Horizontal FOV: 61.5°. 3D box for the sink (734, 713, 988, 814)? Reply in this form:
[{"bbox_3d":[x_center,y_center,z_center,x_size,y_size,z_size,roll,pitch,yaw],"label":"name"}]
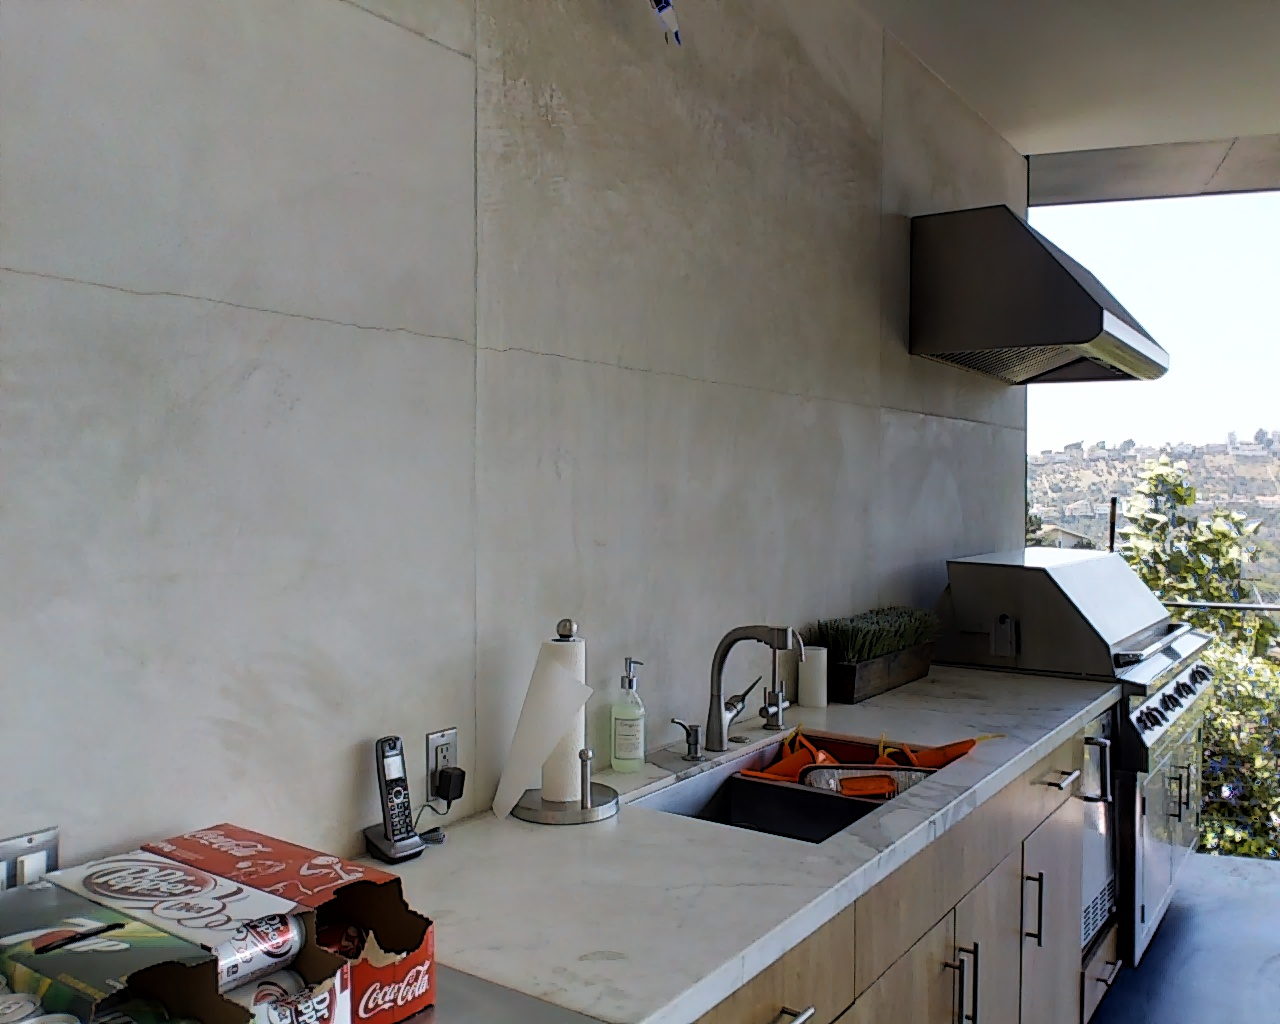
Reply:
[{"bbox_3d":[0.490,0.540,2.370,0.430,0.080,0.380,1,1,36],"label":"sink"}]

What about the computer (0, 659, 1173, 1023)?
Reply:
[{"bbox_3d":[0.350,1.030,2.140,0.720,1.010,3.230,1,1,36],"label":"computer"}]
